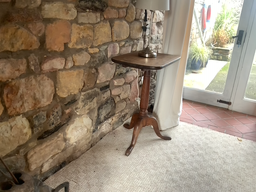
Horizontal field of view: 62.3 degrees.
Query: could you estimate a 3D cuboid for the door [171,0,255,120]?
[{"bbox_3d":[1.260,-0.690,2.190,1.430,1.920,0.040,15,24,26],"label":"door"}]
